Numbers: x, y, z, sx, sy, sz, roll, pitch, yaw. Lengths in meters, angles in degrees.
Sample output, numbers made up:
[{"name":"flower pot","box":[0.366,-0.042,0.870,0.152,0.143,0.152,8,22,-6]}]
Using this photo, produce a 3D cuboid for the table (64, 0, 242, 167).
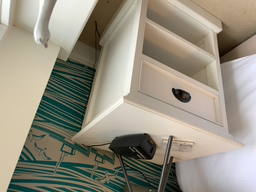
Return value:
[{"name":"table","box":[0.080,-0.070,0.960,0.440,0.610,0.540,22,148,-23]}]
